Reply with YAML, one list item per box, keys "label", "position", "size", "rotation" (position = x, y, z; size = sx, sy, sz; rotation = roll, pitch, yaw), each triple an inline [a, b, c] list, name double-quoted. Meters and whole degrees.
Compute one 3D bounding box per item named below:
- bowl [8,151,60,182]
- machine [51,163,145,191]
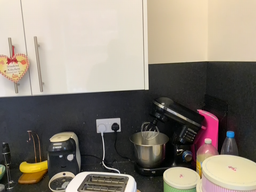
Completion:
- label: "bowl"
  position: [-0.530, 0.400, 1.220]
  size: [0.230, 0.100, 0.150]
  rotation: [-2, 10, -3]
- label: "machine"
  position: [-0.100, 0.400, 0.790]
  size: [0.310, 0.200, 0.210]
  rotation: [-2, 10, -2]
